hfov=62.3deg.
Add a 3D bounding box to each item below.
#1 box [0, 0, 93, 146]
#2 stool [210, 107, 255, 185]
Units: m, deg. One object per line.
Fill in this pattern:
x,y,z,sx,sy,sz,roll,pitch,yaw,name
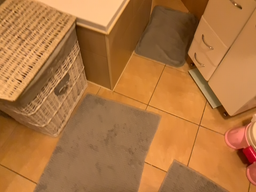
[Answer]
-0.450,-0.080,1.070,0.320,0.560,0.440,18,64,8,box
0.720,0.250,1.160,0.340,0.200,0.330,-17,64,-10,stool
